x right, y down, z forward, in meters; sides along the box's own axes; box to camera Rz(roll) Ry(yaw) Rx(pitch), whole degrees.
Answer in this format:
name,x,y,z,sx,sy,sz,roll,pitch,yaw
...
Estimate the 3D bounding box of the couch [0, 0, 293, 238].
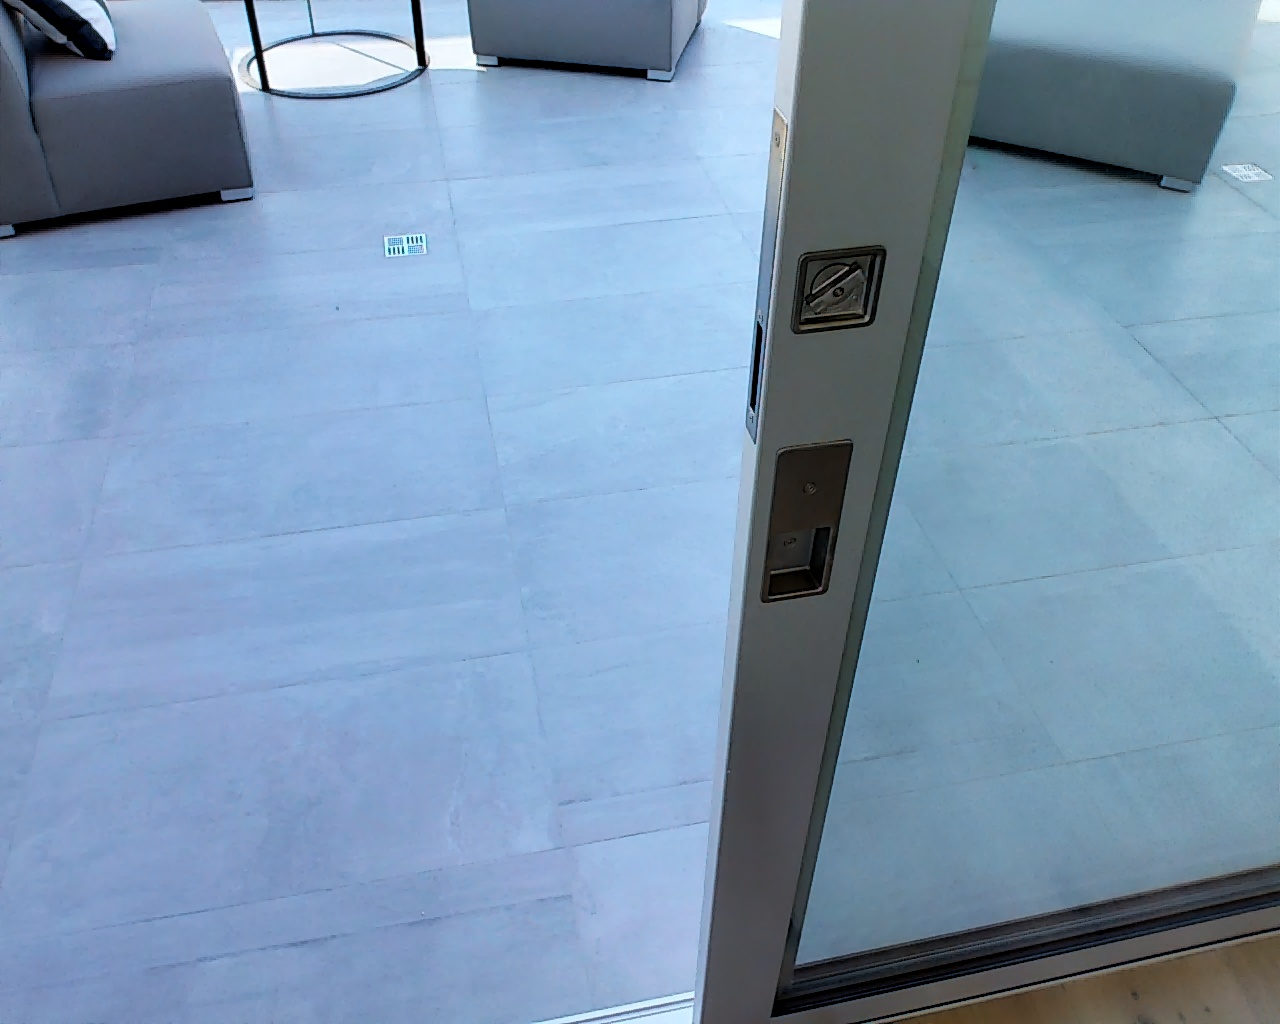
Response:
name,x,y,z,sx,sy,sz,roll,pitch,yaw
couch,-1.860,-1.570,3.520,1.070,0.860,0.950,-17,45,-18
